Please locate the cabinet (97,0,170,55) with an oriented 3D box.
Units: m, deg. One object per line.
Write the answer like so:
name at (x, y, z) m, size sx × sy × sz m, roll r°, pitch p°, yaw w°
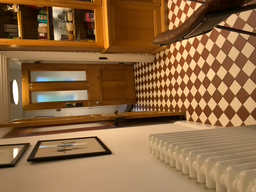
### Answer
cabinet at (0.050, -1.150, 2.840) m, size 0.460 × 0.830 × 1.080 m, roll 176°, pitch 91°, yaw -71°
